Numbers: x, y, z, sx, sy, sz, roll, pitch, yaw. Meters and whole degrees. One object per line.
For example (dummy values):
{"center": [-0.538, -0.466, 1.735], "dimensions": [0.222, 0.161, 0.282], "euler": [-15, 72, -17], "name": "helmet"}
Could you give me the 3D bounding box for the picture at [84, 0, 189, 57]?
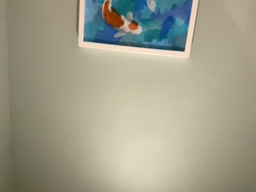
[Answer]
{"center": [0.040, -0.430, 0.780], "dimensions": [0.380, 0.530, 0.020], "euler": [6, -167, 2], "name": "picture"}
